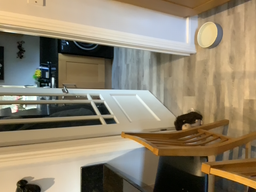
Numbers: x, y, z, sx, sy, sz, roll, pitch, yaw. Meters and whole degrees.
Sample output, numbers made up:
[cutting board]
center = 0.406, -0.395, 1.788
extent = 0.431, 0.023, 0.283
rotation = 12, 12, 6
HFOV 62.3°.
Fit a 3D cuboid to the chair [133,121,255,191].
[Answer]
[chair]
center = 0.480, 0.550, 1.380
extent = 0.420, 0.790, 0.670
rotation = 2, 92, 60
